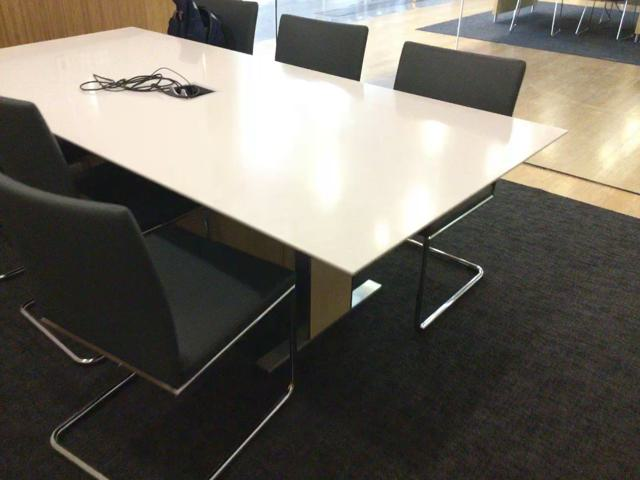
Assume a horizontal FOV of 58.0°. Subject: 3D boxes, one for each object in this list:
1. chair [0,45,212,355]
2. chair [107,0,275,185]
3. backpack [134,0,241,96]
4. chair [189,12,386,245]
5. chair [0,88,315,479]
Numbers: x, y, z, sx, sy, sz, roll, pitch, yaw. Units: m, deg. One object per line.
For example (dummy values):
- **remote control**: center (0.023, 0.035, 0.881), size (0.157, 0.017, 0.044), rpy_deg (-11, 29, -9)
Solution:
- **chair**: center (-0.750, -0.160, 1.900), size (0.500, 0.780, 0.510), rpy_deg (23, 37, 32)
- **chair**: center (-0.640, -0.820, 3.030), size (0.500, 0.800, 0.600), rpy_deg (24, 38, 34)
- **backpack**: center (-0.670, -1.030, 2.970), size (0.320, 0.440, 0.380), rpy_deg (24, 38, 34)
- **chair**: center (-0.130, -0.510, 2.500), size (0.570, 0.770, 0.540), rpy_deg (24, 38, 34)
- **chair**: center (-0.420, 0.110, 1.470), size (0.560, 0.760, 0.620), rpy_deg (19, 36, 28)
